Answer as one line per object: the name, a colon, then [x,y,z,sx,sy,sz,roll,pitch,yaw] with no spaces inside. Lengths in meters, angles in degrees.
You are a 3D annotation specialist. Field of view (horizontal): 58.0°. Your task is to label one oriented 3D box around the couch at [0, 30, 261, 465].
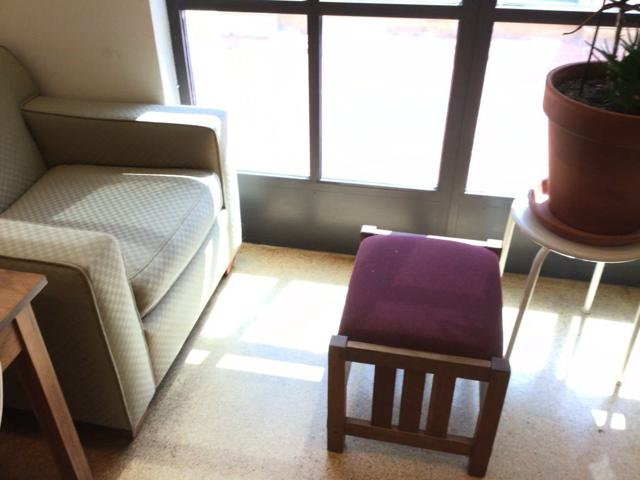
couch: [-0.730,-0.070,1.630,0.840,0.780,0.920,5,33,10]
